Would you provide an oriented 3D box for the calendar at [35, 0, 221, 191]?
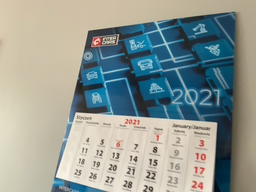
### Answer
[{"bbox_3d":[-0.030,0.190,0.360,0.310,0.770,0.060,1,-17,29],"label":"calendar"}]
